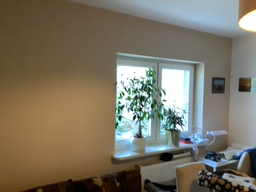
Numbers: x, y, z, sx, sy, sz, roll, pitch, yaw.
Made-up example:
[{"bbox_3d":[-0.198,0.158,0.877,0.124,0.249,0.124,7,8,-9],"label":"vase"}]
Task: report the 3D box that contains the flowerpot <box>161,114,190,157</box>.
[{"bbox_3d":[0.640,0.520,2.880,0.270,0.520,0.250,1,3,-24],"label":"flowerpot"}]
